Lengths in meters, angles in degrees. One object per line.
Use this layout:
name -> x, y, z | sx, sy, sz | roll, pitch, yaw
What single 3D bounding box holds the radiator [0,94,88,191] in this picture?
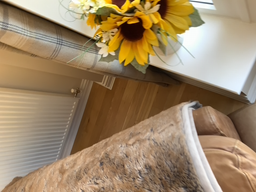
radiator -> -0.770, 0.480, 1.560 | 0.120, 0.810, 0.970 | 25, 100, 32
